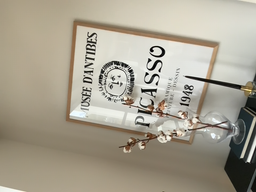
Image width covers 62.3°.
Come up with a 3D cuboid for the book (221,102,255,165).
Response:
[{"bbox_3d":[0.630,0.200,1.190,0.230,0.060,0.270,-71,-10,-73],"label":"book"}]

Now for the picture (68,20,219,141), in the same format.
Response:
[{"bbox_3d":[0.060,-0.080,1.270,0.030,0.800,0.590,-69,-11,-75],"label":"picture"}]
